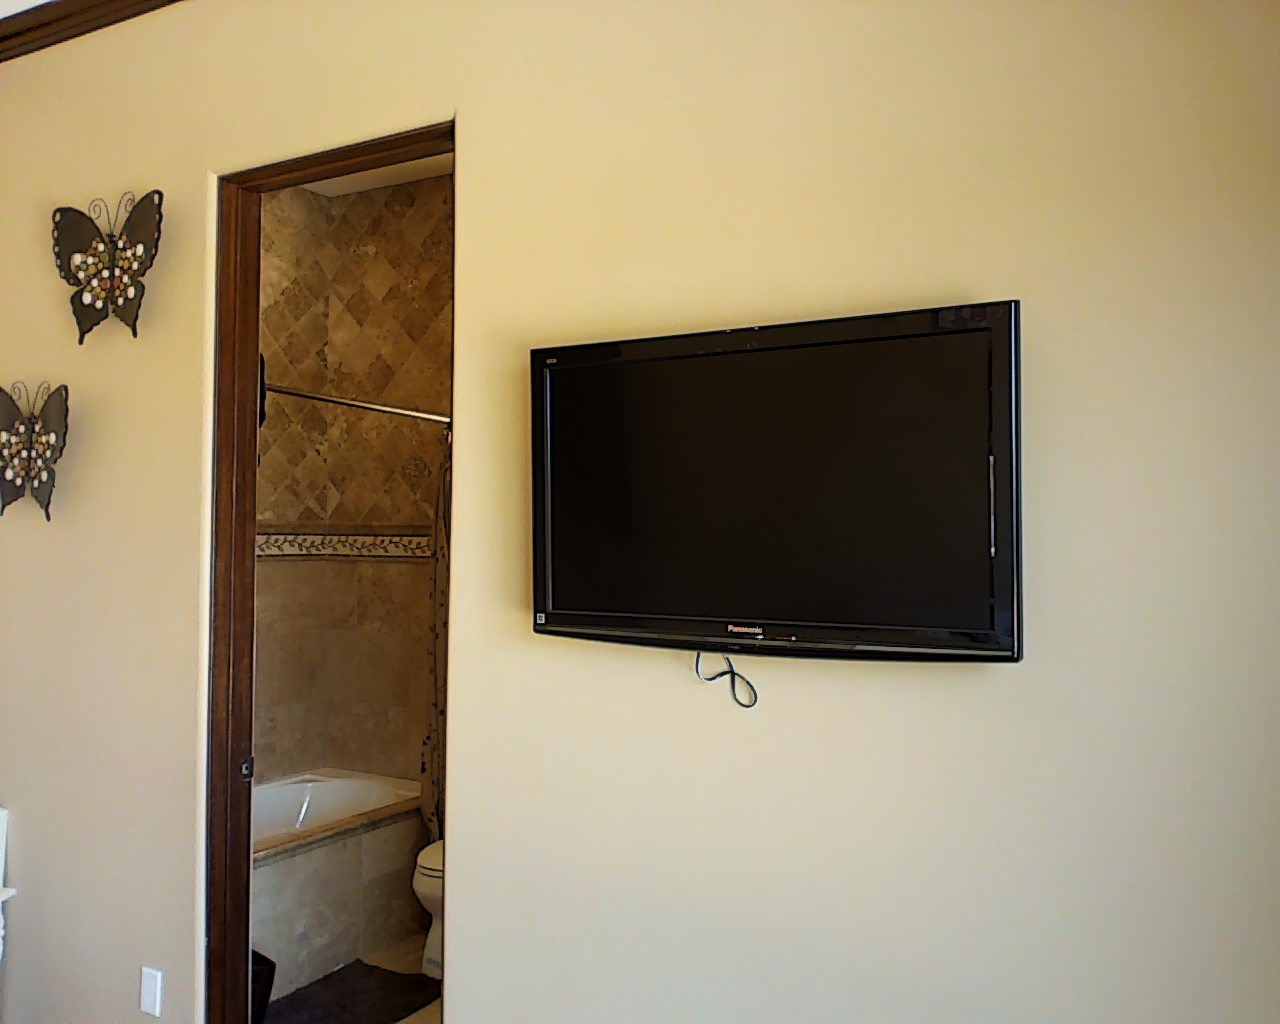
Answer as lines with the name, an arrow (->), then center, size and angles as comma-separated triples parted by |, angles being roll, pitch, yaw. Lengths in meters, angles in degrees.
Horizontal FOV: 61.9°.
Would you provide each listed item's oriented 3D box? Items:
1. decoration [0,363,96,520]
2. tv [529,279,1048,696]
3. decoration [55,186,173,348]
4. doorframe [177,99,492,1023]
decoration -> -1.730, -0.190, 3.040 | 0.450, 0.420, 0.090 | -1, -1, 30
tv -> 0.220, -0.030, 1.900 | 0.930, 0.630, 0.130 | -1, -1, 30
decoration -> -1.420, -0.650, 2.870 | 0.440, 0.370, 0.050 | -1, -1, 30
doorframe -> -0.750, 0.330, 2.550 | 0.840, 2.410, 0.190 | -1, -1, 30
